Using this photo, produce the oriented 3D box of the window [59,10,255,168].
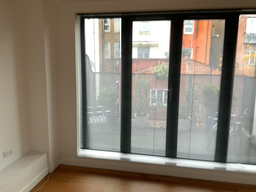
[{"bbox_3d":[0.580,-0.110,3.080,3.210,2.060,0.270,3,9,10],"label":"window"}]
